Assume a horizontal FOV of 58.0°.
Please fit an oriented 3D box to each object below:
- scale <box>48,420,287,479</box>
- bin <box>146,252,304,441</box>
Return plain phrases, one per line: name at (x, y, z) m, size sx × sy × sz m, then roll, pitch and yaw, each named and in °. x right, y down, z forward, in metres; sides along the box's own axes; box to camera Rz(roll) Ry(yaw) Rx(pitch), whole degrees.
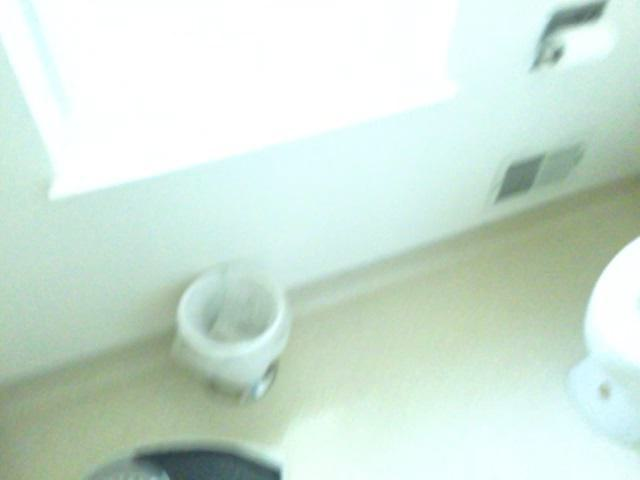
scale at (-0.300, 0.540, 1.130) m, size 0.470 × 0.070 × 0.340 m, roll -2°, pitch 48°, yaw -2°
bin at (-0.200, 0.230, 1.260) m, size 0.250 × 0.250 × 0.240 m, roll -18°, pitch 50°, yaw -16°
